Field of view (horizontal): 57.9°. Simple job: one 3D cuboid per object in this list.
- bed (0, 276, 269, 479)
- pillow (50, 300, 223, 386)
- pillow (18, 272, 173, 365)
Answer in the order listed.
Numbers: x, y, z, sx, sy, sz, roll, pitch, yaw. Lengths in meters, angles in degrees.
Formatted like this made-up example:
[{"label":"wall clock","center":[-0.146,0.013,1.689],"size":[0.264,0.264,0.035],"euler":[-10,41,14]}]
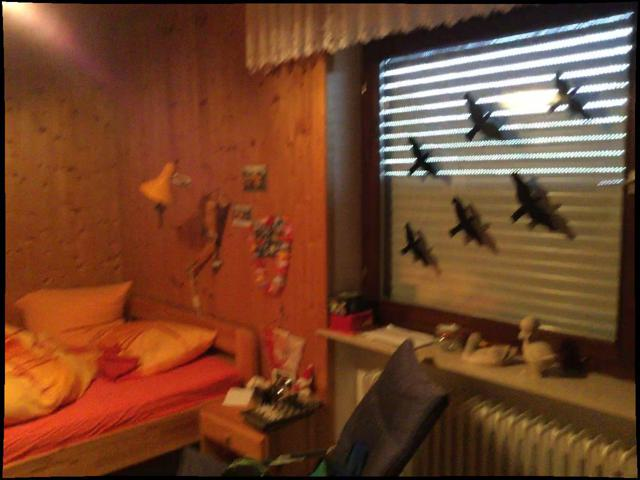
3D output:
[{"label":"bed","center":[-1.588,0.801,2.610],"size":[2.239,0.781,1.499],"euler":[-7,10,-42]},{"label":"pillow","center":[-0.979,0.511,3.060],"size":[0.610,0.160,0.750],"euler":[-7,10,-42]},{"label":"pillow","center":[-1.329,0.430,3.420],"size":[0.650,0.320,0.640],"euler":[-7,10,-42]}]
